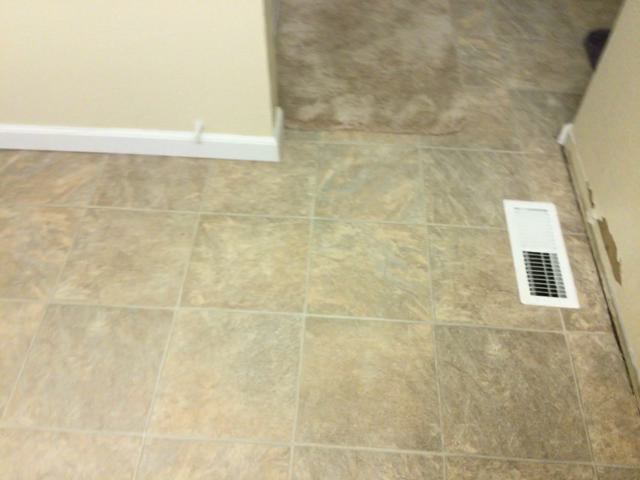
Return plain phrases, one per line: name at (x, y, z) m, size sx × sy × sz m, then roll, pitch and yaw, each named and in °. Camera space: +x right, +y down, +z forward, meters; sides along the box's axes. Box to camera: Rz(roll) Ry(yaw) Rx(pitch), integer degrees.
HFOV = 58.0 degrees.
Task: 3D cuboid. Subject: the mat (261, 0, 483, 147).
mat at (0.190, -0.700, 2.040) m, size 0.660 × 0.050 × 0.970 m, roll 4°, pitch 52°, yaw 3°
